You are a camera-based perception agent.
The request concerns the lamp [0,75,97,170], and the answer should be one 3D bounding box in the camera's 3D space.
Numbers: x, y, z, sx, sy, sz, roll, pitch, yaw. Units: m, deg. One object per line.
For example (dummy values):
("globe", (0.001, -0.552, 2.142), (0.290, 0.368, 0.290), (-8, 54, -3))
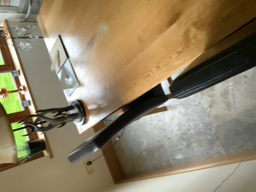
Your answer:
("lamp", (-0.730, 0.200, 1.540), (0.420, 0.790, 0.460), (-34, 75, 47))
